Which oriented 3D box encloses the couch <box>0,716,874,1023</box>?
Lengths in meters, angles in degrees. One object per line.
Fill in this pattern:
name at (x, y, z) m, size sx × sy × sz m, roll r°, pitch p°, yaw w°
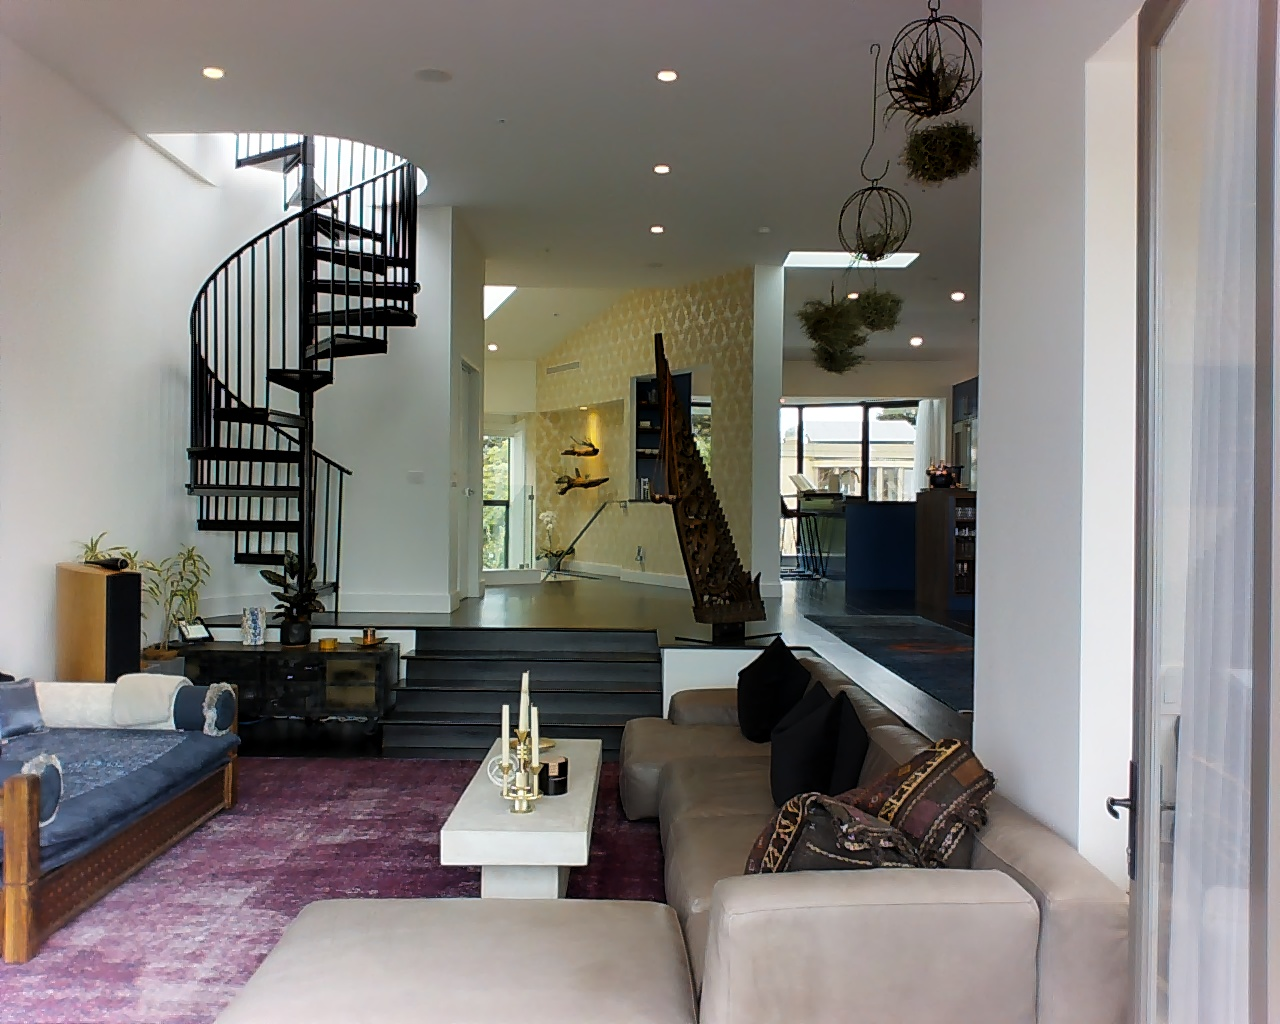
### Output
couch at (-0.520, 1.070, 2.520) m, size 1.860 × 0.900 × 1.320 m, roll 1°, pitch 0°, yaw 1°
